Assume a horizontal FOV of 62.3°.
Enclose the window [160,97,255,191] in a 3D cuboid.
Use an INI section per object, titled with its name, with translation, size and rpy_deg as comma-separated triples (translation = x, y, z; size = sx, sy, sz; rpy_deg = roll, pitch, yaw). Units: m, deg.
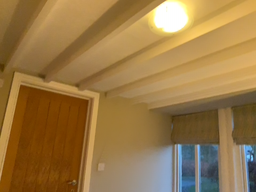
[window]
translation = 1.170, 0.970, 2.710
size = 0.230, 1.720, 1.940
rpy_deg = 14, -18, -31
